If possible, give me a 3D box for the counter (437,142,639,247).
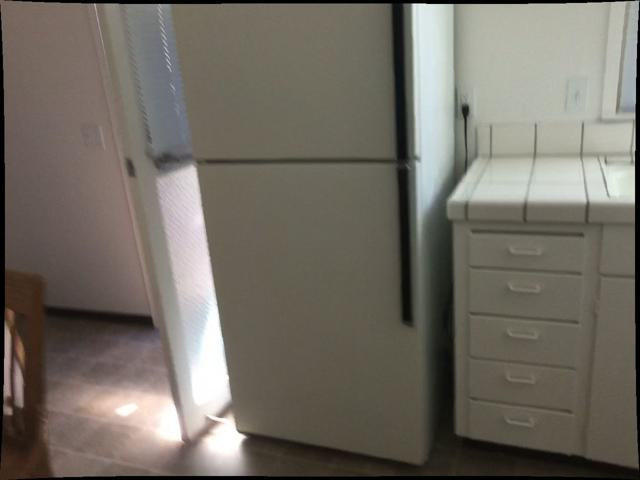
[{"bbox_3d":[1.448,-0.150,1.560,2.137,0.140,0.670,1,21,21],"label":"counter"}]

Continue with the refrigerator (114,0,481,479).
[{"bbox_3d":[0.050,-0.080,2.070,0.939,1.592,0.740,1,20,21],"label":"refrigerator"}]
